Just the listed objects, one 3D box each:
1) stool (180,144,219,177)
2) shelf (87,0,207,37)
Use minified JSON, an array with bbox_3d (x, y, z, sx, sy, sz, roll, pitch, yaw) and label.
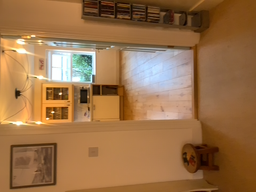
[{"bbox_3d":[0.690,0.620,2.070,0.250,0.250,0.250,161,109,-74],"label":"stool"},{"bbox_3d":[0.200,-0.760,2.090,0.210,1.180,0.200,178,93,-75],"label":"shelf"}]
